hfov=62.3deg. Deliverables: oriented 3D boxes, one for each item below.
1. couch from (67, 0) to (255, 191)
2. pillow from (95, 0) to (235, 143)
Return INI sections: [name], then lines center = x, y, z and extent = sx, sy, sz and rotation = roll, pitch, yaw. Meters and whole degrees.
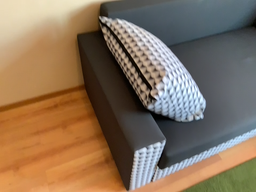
[couch]
center = 0.900, -0.300, 1.570
extent = 2.360, 0.750, 0.930
rotation = -17, 53, -16
[pillow]
center = 0.140, -0.190, 1.150
extent = 0.340, 0.430, 0.700
rotation = -23, 62, -6
